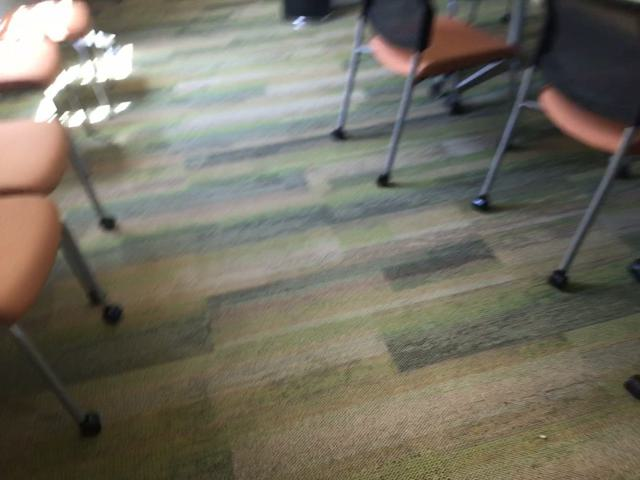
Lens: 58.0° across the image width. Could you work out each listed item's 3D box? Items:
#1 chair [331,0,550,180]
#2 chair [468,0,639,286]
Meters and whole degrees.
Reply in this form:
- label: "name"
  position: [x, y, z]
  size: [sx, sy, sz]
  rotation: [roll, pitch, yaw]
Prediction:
- label: "chair"
  position: [0.430, -0.760, 2.260]
  size: [0.620, 0.760, 0.540]
  rotation: [-14, 39, -12]
- label: "chair"
  position: [0.930, -0.370, 1.770]
  size: [0.700, 0.700, 0.540]
  rotation: [-13, 39, -9]
